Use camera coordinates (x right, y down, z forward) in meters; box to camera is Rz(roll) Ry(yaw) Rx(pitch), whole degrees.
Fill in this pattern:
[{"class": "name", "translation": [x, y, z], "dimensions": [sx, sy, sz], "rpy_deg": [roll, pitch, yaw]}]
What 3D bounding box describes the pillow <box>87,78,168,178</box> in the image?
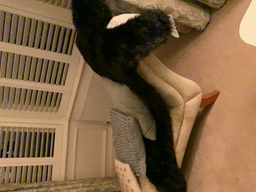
[{"class": "pillow", "translation": [-0.030, 0.190, 1.500], "dimensions": [0.440, 0.310, 0.570], "rpy_deg": [17, 99, 60]}]
